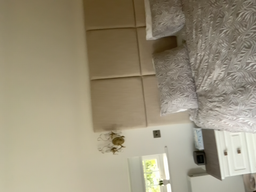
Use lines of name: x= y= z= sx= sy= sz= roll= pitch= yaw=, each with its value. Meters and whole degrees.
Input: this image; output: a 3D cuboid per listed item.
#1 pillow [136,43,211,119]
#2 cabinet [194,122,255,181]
pillow: x=0.480 y=-0.160 z=2.260 sx=0.700 sy=0.410 sz=0.140 roll=46 pitch=162 yaw=2
cabinet: x=1.120 y=0.550 z=2.270 sx=0.540 sy=0.570 sz=0.490 roll=119 pitch=145 yaw=-80
